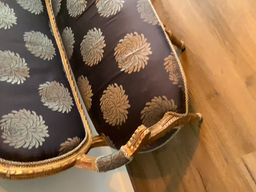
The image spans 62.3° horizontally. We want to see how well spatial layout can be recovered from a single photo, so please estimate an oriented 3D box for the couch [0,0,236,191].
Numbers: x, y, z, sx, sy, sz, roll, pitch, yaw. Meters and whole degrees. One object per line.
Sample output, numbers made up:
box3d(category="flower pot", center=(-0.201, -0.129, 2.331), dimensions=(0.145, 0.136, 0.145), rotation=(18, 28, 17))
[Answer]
box3d(category="couch", center=(-0.300, -0.400, 1.190), dimensions=(0.810, 1.000, 1.620), rotation=(-33, 67, 30))
